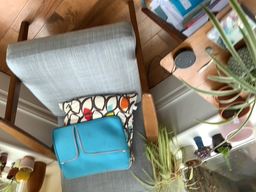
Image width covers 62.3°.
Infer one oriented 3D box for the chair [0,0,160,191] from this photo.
[{"bbox_3d":[-0.190,0.050,1.210,0.560,0.710,0.810,-11,138,4],"label":"chair"}]
